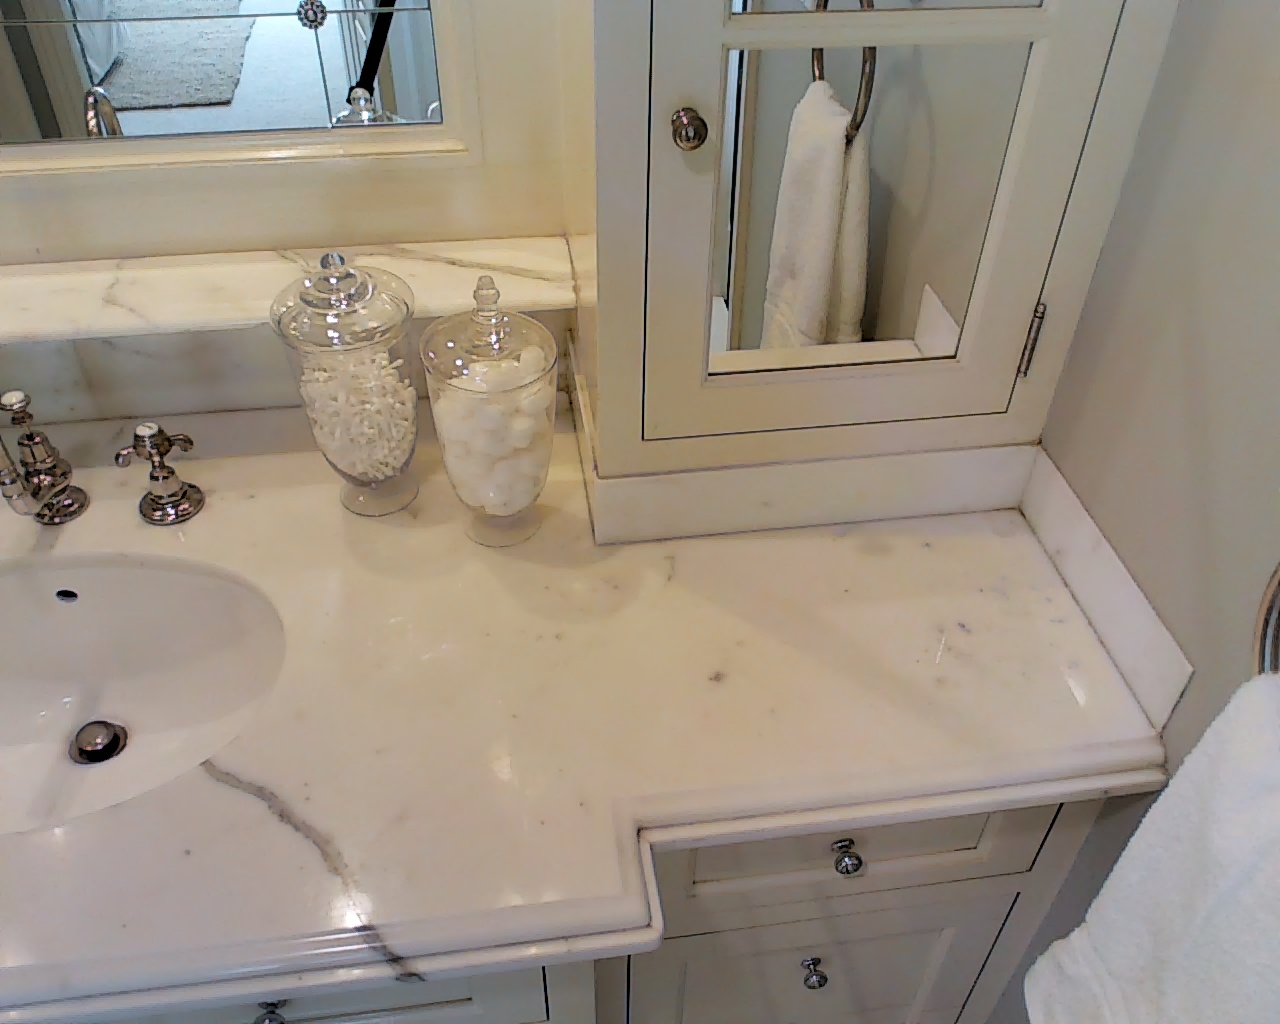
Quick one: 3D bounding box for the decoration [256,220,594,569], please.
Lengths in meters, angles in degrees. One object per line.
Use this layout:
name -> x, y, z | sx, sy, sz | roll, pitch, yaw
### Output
decoration -> -0.190, -0.120, 1.010 | 0.260, 0.180, 0.280 | -5, 42, -7

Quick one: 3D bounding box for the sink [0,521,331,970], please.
sink -> -0.520, 0.200, 0.930 | 0.440, 0.200, 0.300 | -5, 42, -7

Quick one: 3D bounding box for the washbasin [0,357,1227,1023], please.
washbasin -> -0.520, 0.150, 0.930 | 1.800, 0.120, 0.630 | -5, 42, -7
